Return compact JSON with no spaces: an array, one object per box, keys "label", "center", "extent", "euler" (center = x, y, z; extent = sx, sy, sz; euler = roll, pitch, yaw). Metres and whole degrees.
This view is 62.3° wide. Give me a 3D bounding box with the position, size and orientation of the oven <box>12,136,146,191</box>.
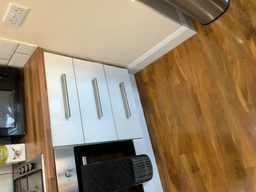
[{"label":"oven","center":[-0.320,0.670,1.420],"extent":[0.580,0.650,0.620],"euler":[-30,66,41]}]
